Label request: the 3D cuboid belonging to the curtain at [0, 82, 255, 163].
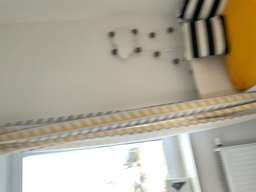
[{"bbox_3d":[0.120,0.180,1.580,0.320,2.620,0.280,104,158,-68],"label":"curtain"}]
